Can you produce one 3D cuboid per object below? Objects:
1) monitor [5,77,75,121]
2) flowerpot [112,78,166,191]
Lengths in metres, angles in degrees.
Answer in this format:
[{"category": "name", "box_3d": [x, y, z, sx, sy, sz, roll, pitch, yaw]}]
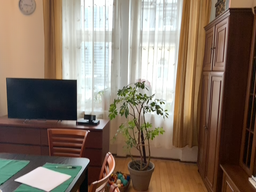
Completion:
[{"category": "monitor", "box_3d": [-1.180, 0.040, 2.850, 0.950, 0.550, 0.050, 2, 8, 5]}, {"category": "flowerpot", "box_3d": [0.160, 0.500, 2.890, 0.560, 1.410, 1.020, 2, 8, 6]}]
